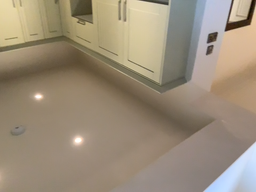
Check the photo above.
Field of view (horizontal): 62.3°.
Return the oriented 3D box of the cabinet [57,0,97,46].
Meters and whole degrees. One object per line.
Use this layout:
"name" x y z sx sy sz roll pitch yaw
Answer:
"cabinet" -0.780 -1.260 3.290 0.470 0.840 0.290 -22 -141 -33
